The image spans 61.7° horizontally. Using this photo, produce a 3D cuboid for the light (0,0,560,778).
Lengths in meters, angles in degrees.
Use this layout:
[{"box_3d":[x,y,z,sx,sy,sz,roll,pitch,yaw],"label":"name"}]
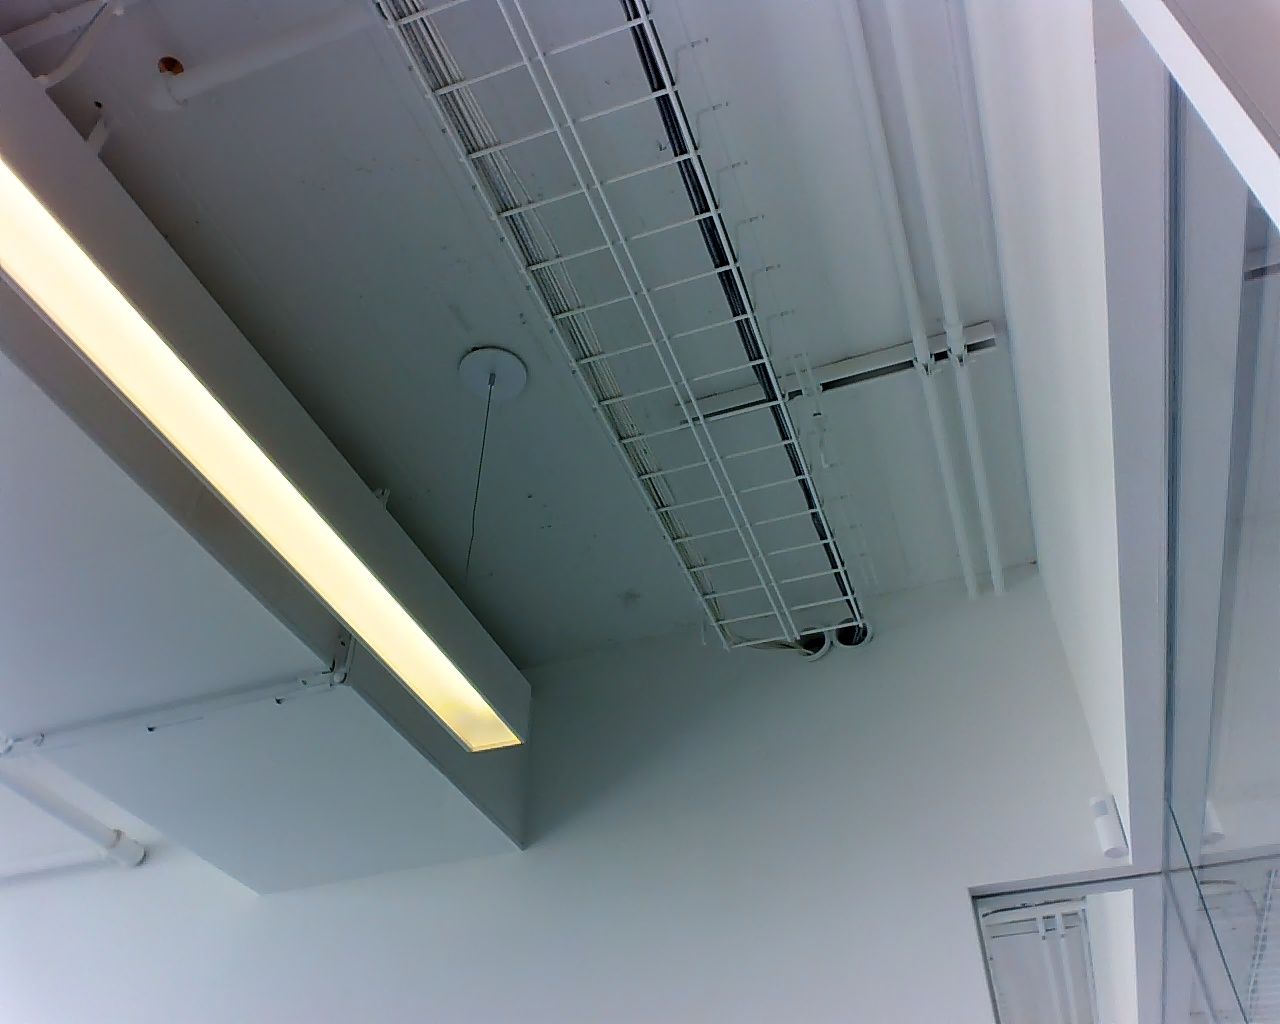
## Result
[{"box_3d":[-0.450,-0.190,1.430,0.190,0.520,1.250,-13,-45,14],"label":"light"}]
